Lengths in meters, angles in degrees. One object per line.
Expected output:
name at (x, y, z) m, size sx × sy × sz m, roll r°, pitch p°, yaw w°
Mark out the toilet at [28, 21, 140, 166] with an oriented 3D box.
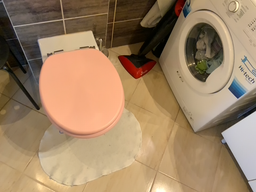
toilet at (-0.250, 0.000, 1.150) m, size 0.360 × 0.460 × 0.570 m, roll -14°, pitch 65°, yaw -17°
